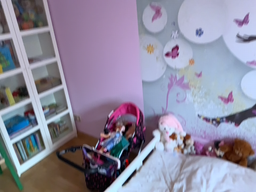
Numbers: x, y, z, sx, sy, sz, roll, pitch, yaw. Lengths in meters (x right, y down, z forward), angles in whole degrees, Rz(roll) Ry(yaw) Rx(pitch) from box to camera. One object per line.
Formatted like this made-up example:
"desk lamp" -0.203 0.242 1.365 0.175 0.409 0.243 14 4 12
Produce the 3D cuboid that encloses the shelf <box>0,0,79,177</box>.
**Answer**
"shelf" -1.060 -0.270 2.080 0.260 2.000 0.810 13 31 35
